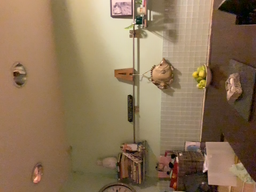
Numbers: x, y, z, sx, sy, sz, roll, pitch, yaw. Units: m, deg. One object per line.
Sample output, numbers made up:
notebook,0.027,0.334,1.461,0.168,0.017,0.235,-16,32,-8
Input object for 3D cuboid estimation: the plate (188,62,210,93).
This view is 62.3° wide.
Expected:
plate,0.680,-0.180,2.040,0.210,0.140,0.250,-73,-17,-70
